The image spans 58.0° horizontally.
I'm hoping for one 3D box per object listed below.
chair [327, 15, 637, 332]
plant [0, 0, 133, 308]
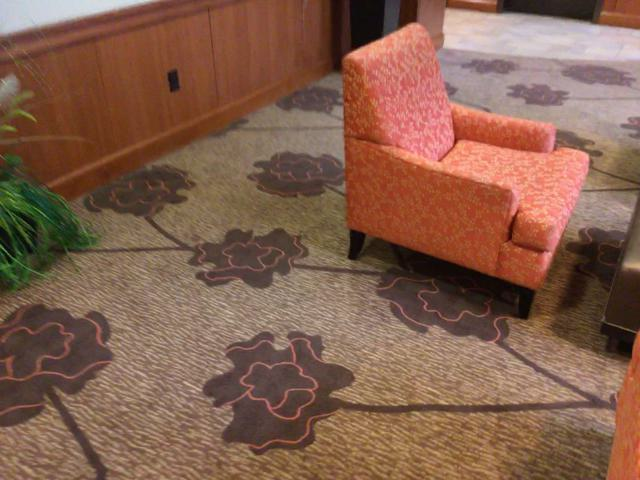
[{"bbox_3d":[0.660,-0.340,2.360,0.900,0.960,0.770,12,32,32],"label":"chair"},{"bbox_3d":[-1.210,-0.380,2.290,0.500,1.030,0.600,19,33,28],"label":"plant"}]
